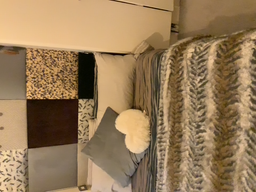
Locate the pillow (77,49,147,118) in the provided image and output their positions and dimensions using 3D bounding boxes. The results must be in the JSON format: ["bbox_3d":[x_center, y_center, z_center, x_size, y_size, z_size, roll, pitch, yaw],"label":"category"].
[{"bbox_3d":[-0.150,-0.120,2.010,0.480,0.410,0.190,-46,19,-11],"label":"pillow"}]

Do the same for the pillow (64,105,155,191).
[{"bbox_3d":[-0.150,0.480,1.970,0.620,0.560,0.280,-22,13,10],"label":"pillow"}]

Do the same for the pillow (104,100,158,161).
[{"bbox_3d":[0.040,0.290,1.830,0.170,0.310,0.400,-28,17,39],"label":"pillow"}]
